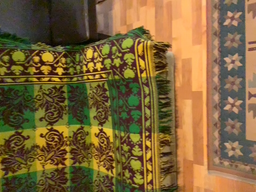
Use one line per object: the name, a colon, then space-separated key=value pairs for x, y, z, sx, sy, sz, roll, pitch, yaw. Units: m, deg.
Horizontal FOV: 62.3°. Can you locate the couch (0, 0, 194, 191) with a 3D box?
couch: x=-0.320 y=0.640 z=1.270 sx=1.080 sy=0.930 sz=1.940 roll=0 pitch=90 yaw=42
